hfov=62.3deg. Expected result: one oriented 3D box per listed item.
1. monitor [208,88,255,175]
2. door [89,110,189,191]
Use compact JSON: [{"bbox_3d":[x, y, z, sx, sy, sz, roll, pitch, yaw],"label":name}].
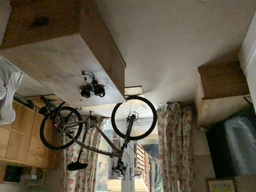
[{"bbox_3d":[1.260,0.450,2.350,0.100,0.710,1.130,1,155,-6],"label":"monitor"},{"bbox_3d":[0.150,1.510,3.530,1.650,2.500,0.130,-6,157,12],"label":"door"}]
